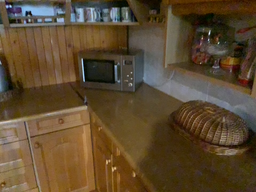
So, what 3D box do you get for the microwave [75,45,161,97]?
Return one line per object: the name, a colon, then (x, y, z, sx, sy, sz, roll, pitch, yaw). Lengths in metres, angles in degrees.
microwave: (-0.100, -0.240, 1.780, 0.550, 0.270, 0.480, -11, 24, -26)
